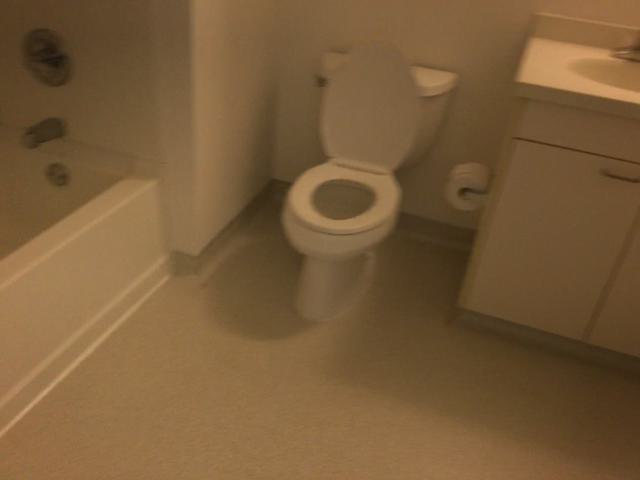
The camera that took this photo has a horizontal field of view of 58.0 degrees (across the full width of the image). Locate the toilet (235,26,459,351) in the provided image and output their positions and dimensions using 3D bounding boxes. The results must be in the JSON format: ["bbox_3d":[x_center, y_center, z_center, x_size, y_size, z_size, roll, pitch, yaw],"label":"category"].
[{"bbox_3d":[0.110,-0.220,1.970,0.500,0.810,0.720,12,31,15],"label":"toilet"}]

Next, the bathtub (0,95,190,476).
[{"bbox_3d":[-0.990,0.100,1.490,0.750,0.570,1.190,12,31,15],"label":"bathtub"}]
